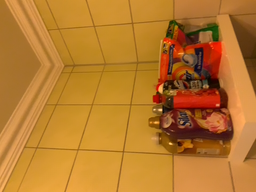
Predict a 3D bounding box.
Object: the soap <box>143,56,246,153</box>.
[{"bbox_3d":[0.230,0.030,0.820,0.230,0.300,0.280,78,-163,-46],"label":"soap"}]
